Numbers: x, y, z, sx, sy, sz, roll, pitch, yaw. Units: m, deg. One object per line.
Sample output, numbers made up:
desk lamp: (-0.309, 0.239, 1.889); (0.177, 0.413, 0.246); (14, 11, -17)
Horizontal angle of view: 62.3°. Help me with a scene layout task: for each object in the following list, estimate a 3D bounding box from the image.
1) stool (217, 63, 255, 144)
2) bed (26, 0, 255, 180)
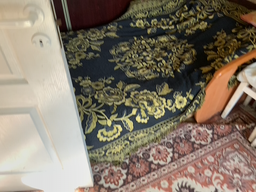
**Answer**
stool: (0.920, 0.040, 1.490); (0.300, 0.440, 0.310); (-20, 48, -20)
bed: (0.260, -0.320, 1.870); (1.900, 0.400, 1.250); (-20, 48, -20)
